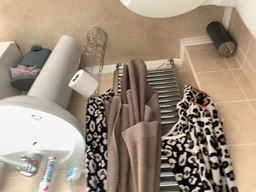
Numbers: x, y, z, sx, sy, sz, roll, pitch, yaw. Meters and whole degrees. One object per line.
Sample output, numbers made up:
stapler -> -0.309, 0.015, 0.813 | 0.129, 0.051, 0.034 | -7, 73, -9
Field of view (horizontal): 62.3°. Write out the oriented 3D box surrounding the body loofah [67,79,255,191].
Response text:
body loofah -> 0.110, 0.310, 0.900 | 0.620, 0.790, 0.280 | -3, 135, 2
